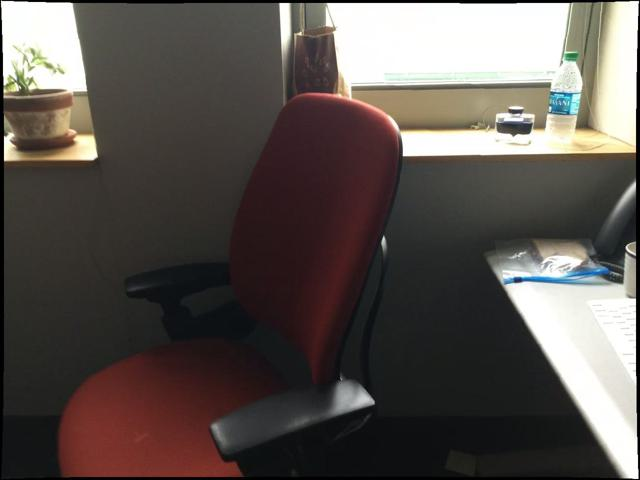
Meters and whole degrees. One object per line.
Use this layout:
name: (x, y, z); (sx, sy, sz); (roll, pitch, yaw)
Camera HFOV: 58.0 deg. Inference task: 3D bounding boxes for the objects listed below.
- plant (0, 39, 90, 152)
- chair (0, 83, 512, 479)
plant: (-0.728, -0.361, 1.430); (0.219, 0.251, 0.220); (-3, 18, -7)
chair: (-0.170, 0.241, 1.110); (0.649, 1.002, 0.690); (-13, 21, -33)
